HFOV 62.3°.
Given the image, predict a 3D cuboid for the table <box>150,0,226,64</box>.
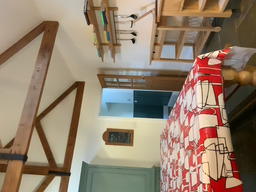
[{"bbox_3d":[0.820,-1.030,3.300,1.240,0.850,0.420,87,-174,-67],"label":"table"}]
